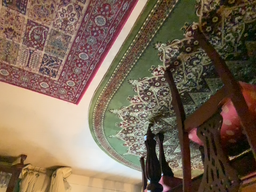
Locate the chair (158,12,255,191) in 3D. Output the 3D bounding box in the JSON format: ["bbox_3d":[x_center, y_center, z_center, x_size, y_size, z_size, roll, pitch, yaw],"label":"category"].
[{"bbox_3d":[0.560,0.160,1.050,0.530,0.960,0.520,17,137,-19],"label":"chair"}]
